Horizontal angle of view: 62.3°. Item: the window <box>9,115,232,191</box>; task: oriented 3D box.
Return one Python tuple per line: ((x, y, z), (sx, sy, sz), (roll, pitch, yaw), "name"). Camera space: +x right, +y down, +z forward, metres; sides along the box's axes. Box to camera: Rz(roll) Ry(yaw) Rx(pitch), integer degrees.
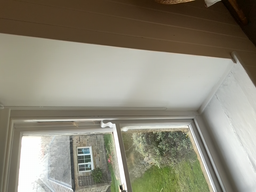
((0.040, 0.540, 1.070), (0.120, 1.140, 0.930), (120, 144, -51), "window")
